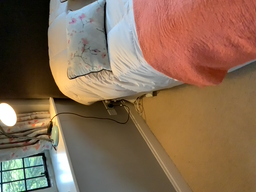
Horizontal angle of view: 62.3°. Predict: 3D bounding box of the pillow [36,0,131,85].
[{"bbox_3d":[-0.310,-0.420,1.540,0.520,0.400,0.180,48,150,-11],"label":"pillow"}]
